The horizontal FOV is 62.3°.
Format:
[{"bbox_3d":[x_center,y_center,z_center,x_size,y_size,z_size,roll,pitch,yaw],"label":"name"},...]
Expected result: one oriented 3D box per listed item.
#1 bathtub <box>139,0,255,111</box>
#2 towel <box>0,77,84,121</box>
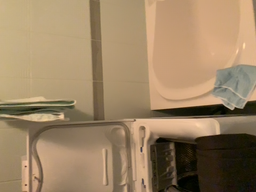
[{"bbox_3d":[0.490,-0.630,1.270,0.720,0.560,1.390,-14,78,62],"label":"bathtub"},{"bbox_3d":[-0.430,0.030,0.880,0.390,0.390,0.140,-13,79,63],"label":"towel"}]
